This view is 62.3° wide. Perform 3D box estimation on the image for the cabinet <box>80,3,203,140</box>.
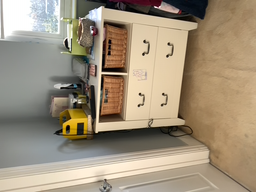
[{"bbox_3d":[0.070,-0.200,1.900,0.610,0.850,0.940,-157,69,-64],"label":"cabinet"}]
